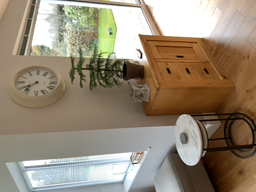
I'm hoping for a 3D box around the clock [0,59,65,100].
[{"bbox_3d":[-0.880,-0.170,2.030,0.060,0.530,0.500,106,157,-44],"label":"clock"}]

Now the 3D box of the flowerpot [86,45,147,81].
[{"bbox_3d":[-0.130,-0.330,2.140,0.210,0.550,0.290,106,157,-46],"label":"flowerpot"}]
